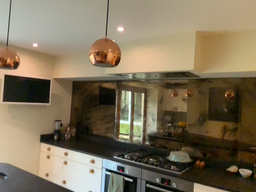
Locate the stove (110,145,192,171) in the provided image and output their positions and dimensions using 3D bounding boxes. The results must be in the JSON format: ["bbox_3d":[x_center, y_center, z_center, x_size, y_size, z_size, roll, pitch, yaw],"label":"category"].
[{"bbox_3d":[0.290,0.780,2.780,0.950,0.060,0.490,3,-2,33],"label":"stove"}]
